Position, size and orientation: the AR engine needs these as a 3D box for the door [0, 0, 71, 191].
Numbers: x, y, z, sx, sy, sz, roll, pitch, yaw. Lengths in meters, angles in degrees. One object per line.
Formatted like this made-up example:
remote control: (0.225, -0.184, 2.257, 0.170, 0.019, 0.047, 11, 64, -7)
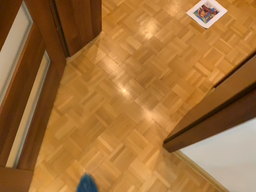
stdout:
door: (-0.380, -0.250, 0.310, 0.120, 2.070, 0.920, 8, 68, -4)
